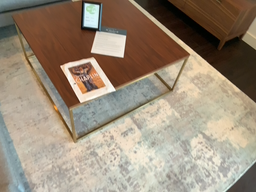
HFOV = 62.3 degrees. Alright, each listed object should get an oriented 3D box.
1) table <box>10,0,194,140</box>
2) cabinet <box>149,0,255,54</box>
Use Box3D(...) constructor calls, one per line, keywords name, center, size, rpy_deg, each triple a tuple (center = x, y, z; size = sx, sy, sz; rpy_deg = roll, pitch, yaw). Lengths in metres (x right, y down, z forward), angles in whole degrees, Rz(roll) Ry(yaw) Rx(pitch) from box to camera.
Box3D(name="table", center=(-0.210, -0.340, 1.650), size=(0.940, 0.410, 0.940), rpy_deg=(-25, 61, -26))
Box3D(name="cabinet", center=(0.800, -1.130, 2.440), size=(0.510, 0.470, 1.270), rpy_deg=(-26, 61, -26))
